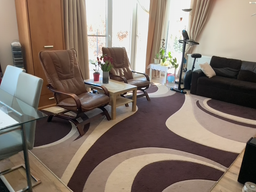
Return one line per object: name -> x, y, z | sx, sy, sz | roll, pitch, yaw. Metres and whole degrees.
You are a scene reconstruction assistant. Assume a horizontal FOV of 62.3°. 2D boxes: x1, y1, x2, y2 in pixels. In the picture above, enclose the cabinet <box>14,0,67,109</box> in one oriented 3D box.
cabinet -> -1.440, -0.780, 3.590 | 0.400, 1.870, 0.610 | 19, 24, 40
